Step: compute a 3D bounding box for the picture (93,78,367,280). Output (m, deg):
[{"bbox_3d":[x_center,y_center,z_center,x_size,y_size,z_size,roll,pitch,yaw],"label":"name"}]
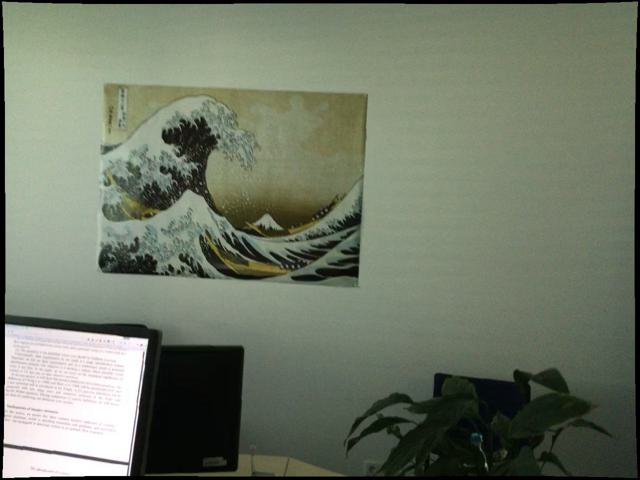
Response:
[{"bbox_3d":[-0.470,-0.300,2.960,1.409,0.981,0.090,0,4,8],"label":"picture"}]
